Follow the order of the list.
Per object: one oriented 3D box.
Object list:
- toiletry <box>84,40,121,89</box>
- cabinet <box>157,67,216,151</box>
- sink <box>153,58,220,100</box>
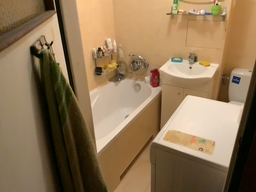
[{"bbox_3d":[-0.270,-0.370,2.440,0.150,0.430,0.440,14,32,29],"label":"toiletry"},{"bbox_3d":[0.590,0.130,2.240,0.470,0.770,0.260,14,32,29],"label":"cabinet"},{"bbox_3d":[0.550,-0.180,2.020,0.510,0.190,0.380,14,32,29],"label":"sink"}]
